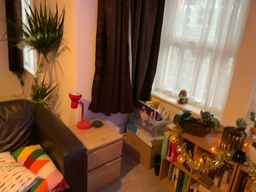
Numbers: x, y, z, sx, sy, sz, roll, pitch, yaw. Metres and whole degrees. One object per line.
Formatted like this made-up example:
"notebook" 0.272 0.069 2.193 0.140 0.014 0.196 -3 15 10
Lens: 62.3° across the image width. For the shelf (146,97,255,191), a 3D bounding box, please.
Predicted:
"shelf" 0.830 0.630 1.610 0.410 0.740 1.510 -11 26 -36
